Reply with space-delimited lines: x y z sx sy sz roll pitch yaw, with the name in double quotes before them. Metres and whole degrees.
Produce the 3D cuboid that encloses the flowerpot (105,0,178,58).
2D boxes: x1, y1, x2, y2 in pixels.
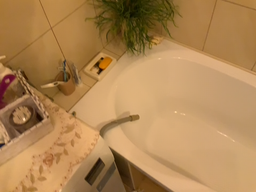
"flowerpot" 0.050 -0.440 1.060 0.300 0.380 0.250 -12 56 -4
